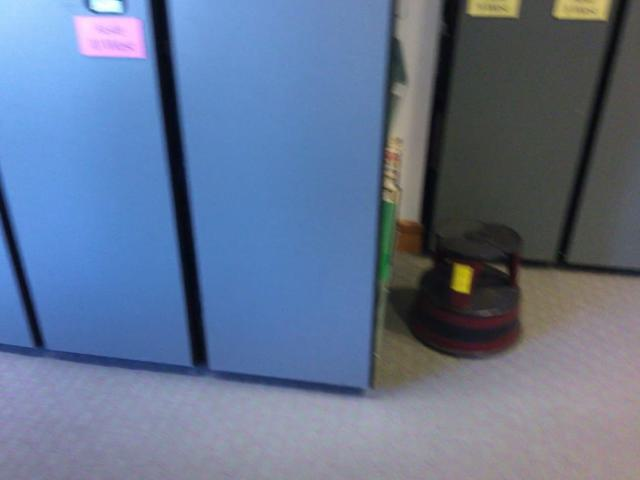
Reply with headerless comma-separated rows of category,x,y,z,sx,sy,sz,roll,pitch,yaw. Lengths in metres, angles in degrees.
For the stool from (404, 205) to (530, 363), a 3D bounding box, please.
stool,0.500,0.140,2.020,0.350,0.380,0.360,6,28,11
